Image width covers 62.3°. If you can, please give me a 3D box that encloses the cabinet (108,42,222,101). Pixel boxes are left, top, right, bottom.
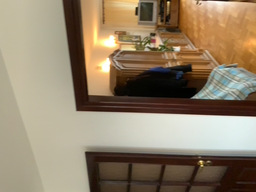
[{"bbox_3d":[0.610,-0.550,4.280,1.330,1.930,0.610,-92,4,-58],"label":"cabinet"}]

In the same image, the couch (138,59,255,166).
[{"bbox_3d":[0.900,0.140,2.750,1.070,1.410,0.990,-94,7,-70],"label":"couch"}]

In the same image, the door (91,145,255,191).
[{"bbox_3d":[0.650,0.840,2.140,0.110,1.970,0.880,-91,4,-51],"label":"door"}]
